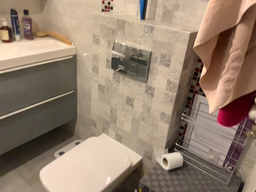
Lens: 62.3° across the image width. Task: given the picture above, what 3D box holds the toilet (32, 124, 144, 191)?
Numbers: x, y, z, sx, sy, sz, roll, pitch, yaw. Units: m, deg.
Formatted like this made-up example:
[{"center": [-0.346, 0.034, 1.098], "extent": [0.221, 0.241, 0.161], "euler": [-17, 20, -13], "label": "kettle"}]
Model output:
[{"center": [-0.220, 0.510, 1.290], "extent": [0.360, 0.390, 0.520], "euler": [23, 31, 30], "label": "toilet"}]

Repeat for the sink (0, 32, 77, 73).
[{"center": [-0.880, -0.290, 1.420], "extent": [0.460, 0.100, 0.990], "euler": [22, 31, 28], "label": "sink"}]
